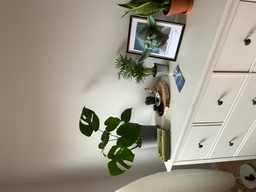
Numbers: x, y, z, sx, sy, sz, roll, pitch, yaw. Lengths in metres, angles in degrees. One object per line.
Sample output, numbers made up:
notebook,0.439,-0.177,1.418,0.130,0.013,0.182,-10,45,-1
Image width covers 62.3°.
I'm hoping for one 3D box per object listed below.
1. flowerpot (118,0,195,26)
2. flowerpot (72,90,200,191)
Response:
flowerpot,0.140,-0.520,1.170,0.260,0.350,0.150,-103,17,-49
flowerpot,0.000,0.270,1.460,0.590,0.700,0.330,-104,17,-51
